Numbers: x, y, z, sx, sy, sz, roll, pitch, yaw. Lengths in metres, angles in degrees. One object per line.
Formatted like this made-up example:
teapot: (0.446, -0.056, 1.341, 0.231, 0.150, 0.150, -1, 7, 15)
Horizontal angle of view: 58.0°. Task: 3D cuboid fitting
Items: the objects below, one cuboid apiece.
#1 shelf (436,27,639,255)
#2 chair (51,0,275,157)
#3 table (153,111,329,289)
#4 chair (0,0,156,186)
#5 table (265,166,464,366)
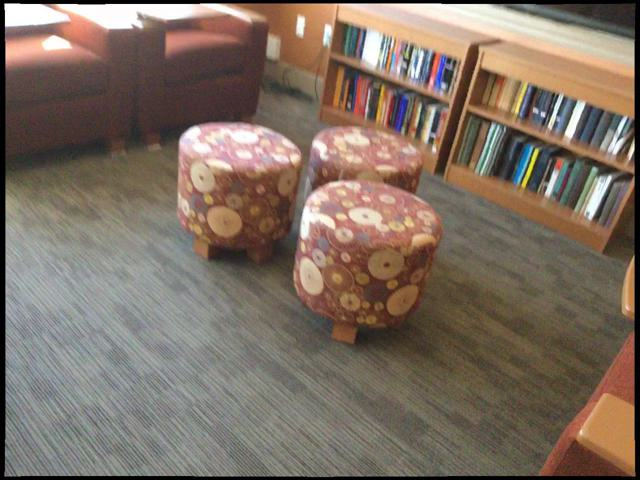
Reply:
shelf: (1.178, -0.531, 2.870, 0.999, 0.751, 0.370, 33, 39, 32)
chair: (-0.878, -1.102, 3.220, 0.909, 0.841, 0.799, 33, 39, 32)
table: (-0.319, -0.180, 2.250, 0.480, 0.431, 0.440, 32, 39, 31)
chair: (-1.397, -0.862, 2.670, 0.869, 0.801, 0.889, 32, 39, 31)
table: (0.140, 0.060, 1.940, 0.420, 0.391, 0.450, 31, 38, 30)
